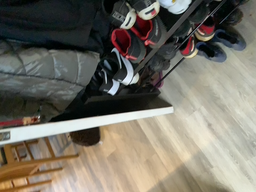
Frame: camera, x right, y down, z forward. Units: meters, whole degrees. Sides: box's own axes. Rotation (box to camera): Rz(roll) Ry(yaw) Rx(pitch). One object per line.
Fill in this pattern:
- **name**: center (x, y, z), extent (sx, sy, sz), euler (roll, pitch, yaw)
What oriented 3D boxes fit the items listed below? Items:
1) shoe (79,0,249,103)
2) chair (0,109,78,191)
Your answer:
- **shoe**: center (0.130, -0.320, 0.930), extent (0.710, 0.250, 0.330), euler (-45, 65, 31)
- **chair**: center (-1.010, 0.490, 1.800), extent (0.480, 0.910, 0.510), euler (-41, 67, 32)
